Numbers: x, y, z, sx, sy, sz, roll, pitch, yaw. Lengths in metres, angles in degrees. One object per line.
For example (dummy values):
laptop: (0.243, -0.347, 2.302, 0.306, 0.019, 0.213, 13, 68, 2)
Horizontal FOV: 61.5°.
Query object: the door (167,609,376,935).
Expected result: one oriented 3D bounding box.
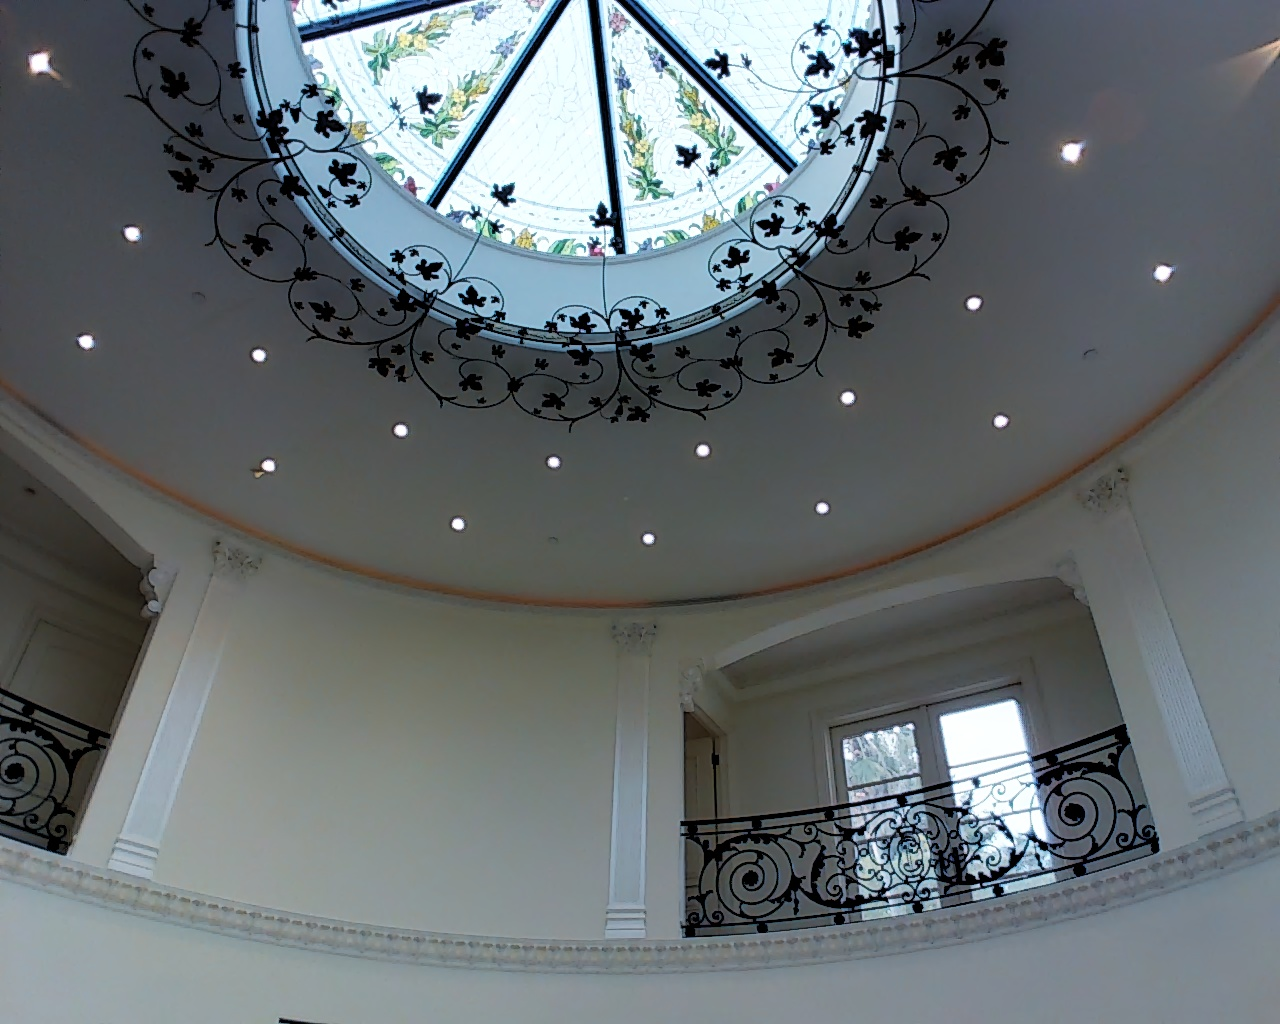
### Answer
door: (-2.829, 1.971, 8.520, 1.010, 2.490, 0.120, 23, -45, -22)
